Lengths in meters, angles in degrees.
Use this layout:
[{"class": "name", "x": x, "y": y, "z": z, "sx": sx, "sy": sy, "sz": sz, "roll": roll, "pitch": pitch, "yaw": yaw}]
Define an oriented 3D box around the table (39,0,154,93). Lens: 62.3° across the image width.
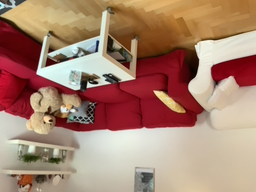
[{"class": "table", "x": -0.340, "y": -0.450, "z": 2.310, "sx": 1.110, "sy": 0.570, "sz": 0.530, "roll": -7, "pitch": 160, "yaw": 31}]
